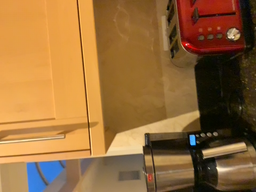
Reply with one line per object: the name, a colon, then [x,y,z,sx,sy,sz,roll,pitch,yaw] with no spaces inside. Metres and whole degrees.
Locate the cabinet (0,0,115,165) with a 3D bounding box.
cabinet: [-0.490,-0.120,0.730,0.360,0.810,0.620,-37,-58,-88]
